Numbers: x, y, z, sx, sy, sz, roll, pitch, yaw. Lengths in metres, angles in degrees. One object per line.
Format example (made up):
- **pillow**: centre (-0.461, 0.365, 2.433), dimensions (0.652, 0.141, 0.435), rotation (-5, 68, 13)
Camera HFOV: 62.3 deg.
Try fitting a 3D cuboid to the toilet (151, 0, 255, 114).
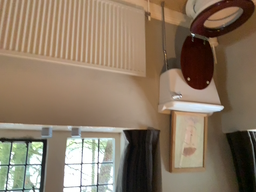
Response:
- **toilet**: centre (0.570, -0.430, 1.600), dimensions (0.470, 1.000, 0.690), rotation (5, 164, -23)
